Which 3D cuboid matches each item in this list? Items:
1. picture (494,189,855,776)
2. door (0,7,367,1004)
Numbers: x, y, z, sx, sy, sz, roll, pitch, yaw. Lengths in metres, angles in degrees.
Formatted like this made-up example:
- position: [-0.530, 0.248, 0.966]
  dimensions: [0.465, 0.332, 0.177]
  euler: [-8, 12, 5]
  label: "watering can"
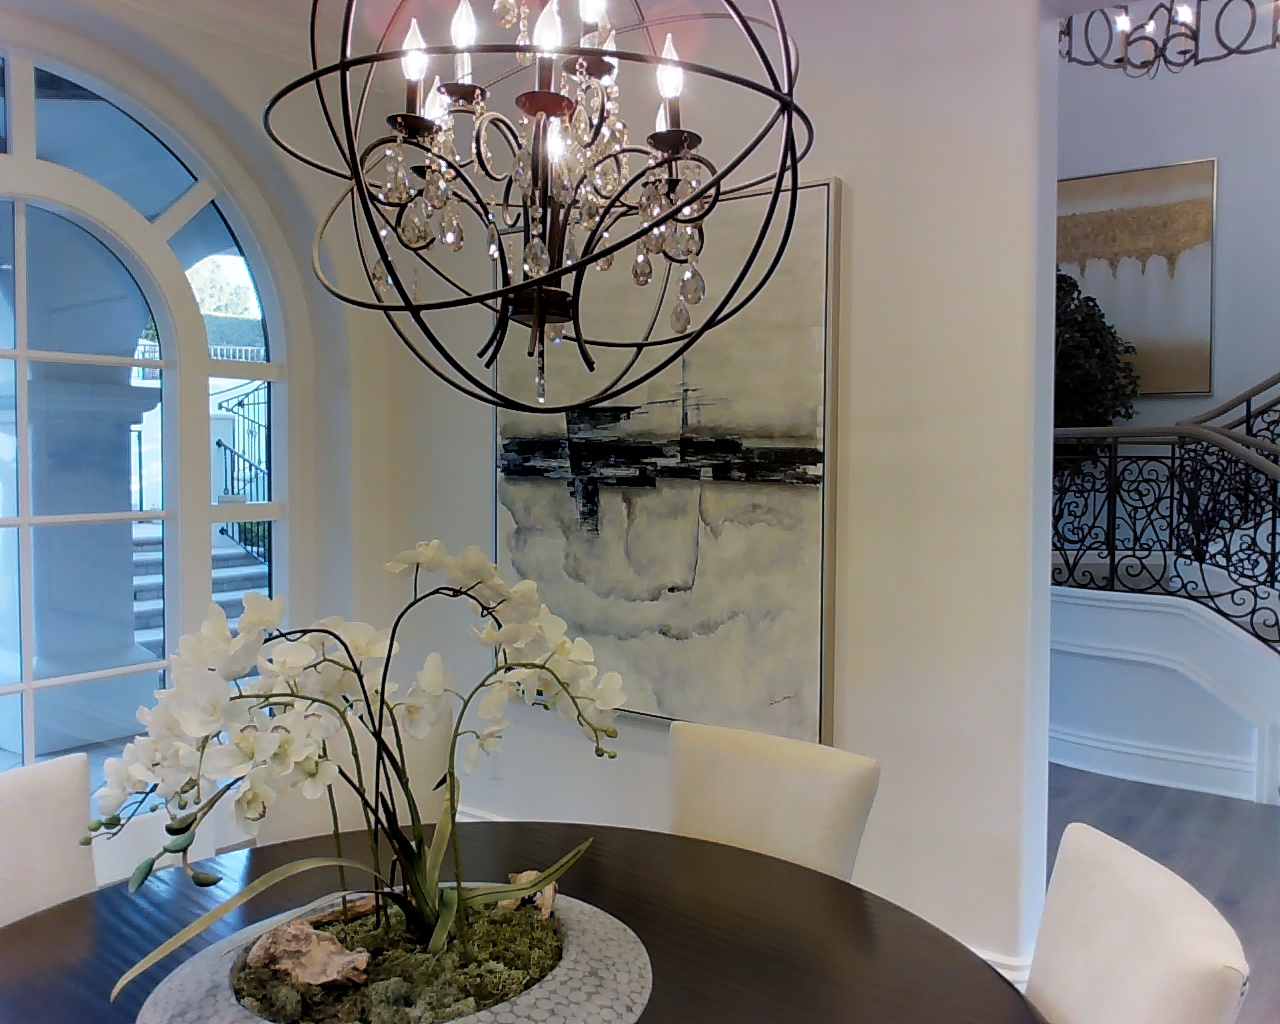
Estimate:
- position: [0.050, -0.100, 3.720]
  dimensions: [1.460, 1.781, 0.070]
  euler: [2, 3, 37]
  label: "picture"
- position: [-1.949, -0.020, 3.620]
  dimensions: [0.530, 2.991, 2.110]
  euler: [2, 3, 37]
  label: "door"
